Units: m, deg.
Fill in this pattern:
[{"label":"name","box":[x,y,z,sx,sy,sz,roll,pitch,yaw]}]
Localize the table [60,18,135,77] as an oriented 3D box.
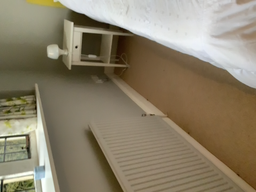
[{"label":"table","box":[-0.380,-0.550,2.450,0.490,0.690,0.530,42,128,54]}]
